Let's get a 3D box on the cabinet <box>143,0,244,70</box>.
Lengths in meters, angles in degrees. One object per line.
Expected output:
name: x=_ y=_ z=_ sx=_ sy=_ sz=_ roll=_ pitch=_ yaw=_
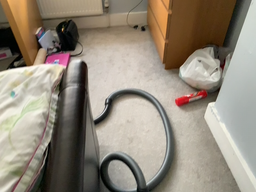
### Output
cabinet: x=0.480 y=-0.890 z=1.790 sx=0.550 sy=0.980 sz=0.850 roll=-5 pitch=44 yaw=-4
